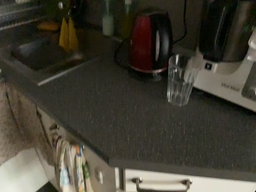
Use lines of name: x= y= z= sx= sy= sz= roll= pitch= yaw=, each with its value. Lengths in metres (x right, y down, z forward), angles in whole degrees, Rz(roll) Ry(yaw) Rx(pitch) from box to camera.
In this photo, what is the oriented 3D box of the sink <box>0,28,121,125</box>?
sink: x=-0.310 y=-0.130 z=1.010 sx=0.360 sy=0.200 sz=0.420 roll=28 pitch=45 yaw=32
